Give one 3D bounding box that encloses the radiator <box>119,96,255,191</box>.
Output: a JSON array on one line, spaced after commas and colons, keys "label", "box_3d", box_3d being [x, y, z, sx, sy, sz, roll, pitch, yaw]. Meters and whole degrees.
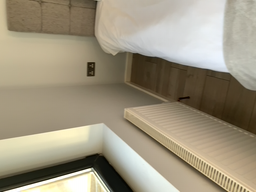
[{"label": "radiator", "box_3d": [0.530, 0.240, 1.090, 1.250, 0.610, 0.100, 27, 117, 53]}]
